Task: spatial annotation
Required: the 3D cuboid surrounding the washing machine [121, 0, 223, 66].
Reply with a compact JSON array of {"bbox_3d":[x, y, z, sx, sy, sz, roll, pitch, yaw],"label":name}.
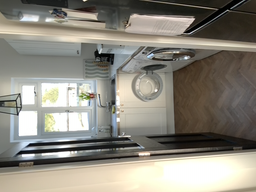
[{"bbox_3d":[0.440,-0.720,2.330,0.600,0.910,0.640,171,98,-75],"label":"washing machine"}]
